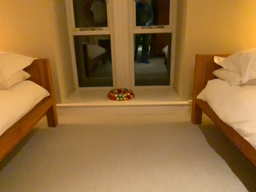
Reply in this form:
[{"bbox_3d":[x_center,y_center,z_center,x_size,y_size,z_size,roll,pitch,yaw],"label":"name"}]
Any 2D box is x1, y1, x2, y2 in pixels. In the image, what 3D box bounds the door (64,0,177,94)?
[{"bbox_3d":[-0.090,-1.410,2.710,1.450,2.840,0.090,-2,19,-2],"label":"door"}]
